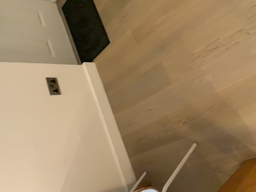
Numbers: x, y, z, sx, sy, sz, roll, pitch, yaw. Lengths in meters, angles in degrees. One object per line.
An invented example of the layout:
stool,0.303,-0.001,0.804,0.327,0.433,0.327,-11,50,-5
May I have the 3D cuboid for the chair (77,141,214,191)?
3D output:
chair,0.090,0.630,1.230,0.440,0.800,0.430,-37,70,39
